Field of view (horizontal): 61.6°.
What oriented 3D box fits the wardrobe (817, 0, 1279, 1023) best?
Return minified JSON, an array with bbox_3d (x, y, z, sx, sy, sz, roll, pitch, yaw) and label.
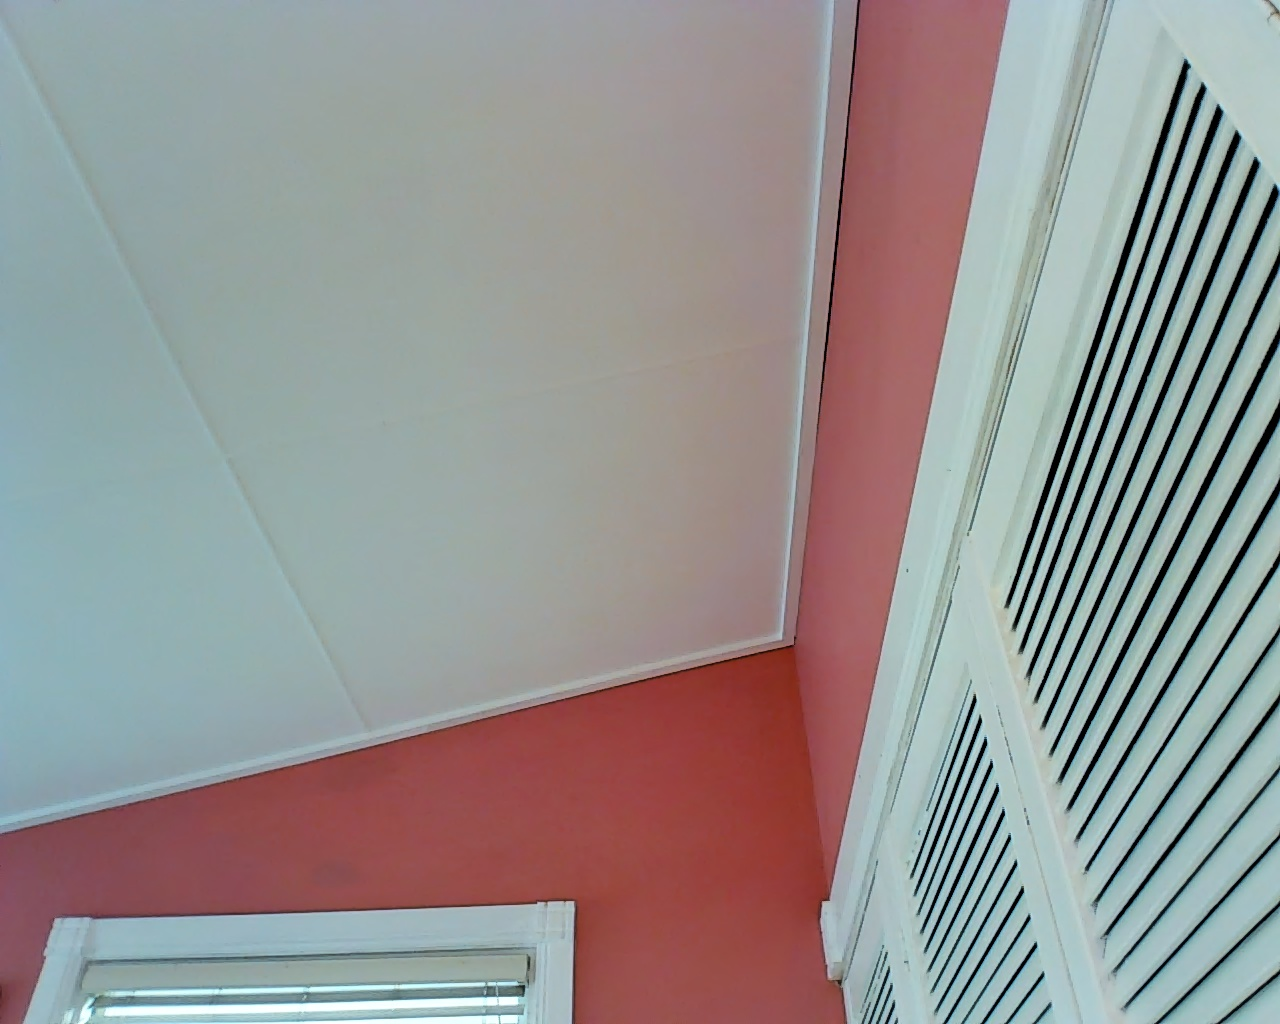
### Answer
[{"bbox_3d":[0.410,1.051,1.050,0.100,2.251,2.461,-3,-41,3],"label":"wardrobe"}]
